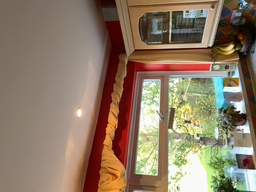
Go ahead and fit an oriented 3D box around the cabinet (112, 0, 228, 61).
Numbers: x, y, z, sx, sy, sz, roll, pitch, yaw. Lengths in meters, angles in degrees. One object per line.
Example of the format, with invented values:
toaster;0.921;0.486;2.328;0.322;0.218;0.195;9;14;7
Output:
cabinet;0.350;-0.820;1.870;1.140;0.890;0.340;75;-161;-58
